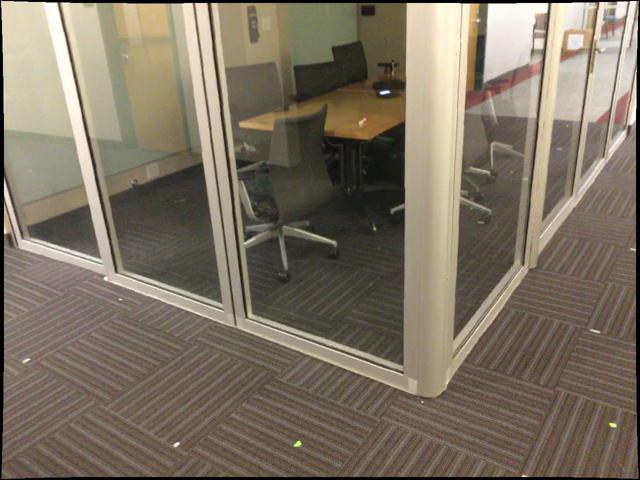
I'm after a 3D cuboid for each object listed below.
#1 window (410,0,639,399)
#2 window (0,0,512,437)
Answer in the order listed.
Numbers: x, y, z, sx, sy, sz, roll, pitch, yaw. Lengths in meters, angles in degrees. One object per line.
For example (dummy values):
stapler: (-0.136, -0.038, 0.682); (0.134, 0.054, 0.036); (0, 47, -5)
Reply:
window: (1.397, -0.792, 3.140); (0.220, 1.523, 3.349); (17, 37, 32)
window: (-0.409, -0.351, 2.470); (2.207, 1.643, 0.450); (17, 37, 32)
